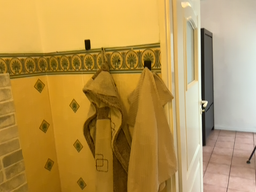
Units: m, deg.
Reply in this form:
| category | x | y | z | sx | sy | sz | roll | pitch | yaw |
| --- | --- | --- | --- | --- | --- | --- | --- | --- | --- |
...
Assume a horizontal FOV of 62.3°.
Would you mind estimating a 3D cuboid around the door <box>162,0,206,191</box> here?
| category | x | y | z | sx | sy | sz | roll | pitch | yaw |
| --- | --- | --- | --- | --- | --- | --- | --- | --- | --- |
| door | 0.450 | 0.260 | 1.490 | 0.110 | 2.120 | 0.970 | 1 | 11 | 25 |

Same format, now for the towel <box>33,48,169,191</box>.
| category | x | y | z | sx | sy | sz | roll | pitch | yaw |
| --- | --- | --- | --- | --- | --- | --- | --- | --- | --- |
| towel | -0.090 | 0.360 | 1.040 | 0.490 | 1.120 | 0.320 | 2 | 11 | 30 |
